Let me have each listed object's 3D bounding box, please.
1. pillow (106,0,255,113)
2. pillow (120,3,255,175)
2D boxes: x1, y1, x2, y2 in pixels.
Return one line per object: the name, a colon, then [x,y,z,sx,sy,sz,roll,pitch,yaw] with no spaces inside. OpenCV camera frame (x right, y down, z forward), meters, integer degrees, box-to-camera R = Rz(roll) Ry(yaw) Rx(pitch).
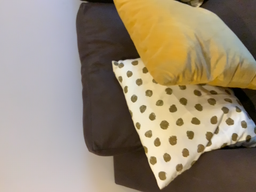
pillow: [0.210,-0.210,0.750,0.180,0.440,0.520,-46,55,33]
pillow: [0.210,0.020,0.790,0.200,0.450,0.470,-25,65,11]
